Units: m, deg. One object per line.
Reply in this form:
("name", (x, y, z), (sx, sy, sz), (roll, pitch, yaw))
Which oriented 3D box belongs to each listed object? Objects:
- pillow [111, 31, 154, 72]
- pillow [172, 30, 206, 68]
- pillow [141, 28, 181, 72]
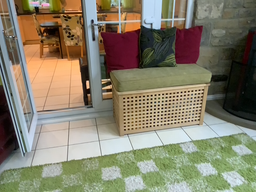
("pillow", (0.050, -0.480, 2.270), (0.430, 0.390, 0.150), (-5, 16, -11))
("pillow", (0.690, -0.540, 2.430), (0.310, 0.400, 0.130), (-5, 25, -11))
("pillow", (0.360, -0.490, 2.280), (0.390, 0.430, 0.140), (-5, 11, -10))
